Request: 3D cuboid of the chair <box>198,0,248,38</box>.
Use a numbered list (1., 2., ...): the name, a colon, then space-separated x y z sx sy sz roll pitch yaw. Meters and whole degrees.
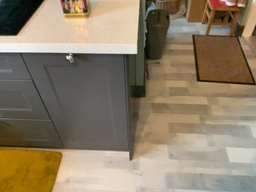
1. chair: 1.020 -1.000 2.270 0.340 0.650 0.320 4 47 5
